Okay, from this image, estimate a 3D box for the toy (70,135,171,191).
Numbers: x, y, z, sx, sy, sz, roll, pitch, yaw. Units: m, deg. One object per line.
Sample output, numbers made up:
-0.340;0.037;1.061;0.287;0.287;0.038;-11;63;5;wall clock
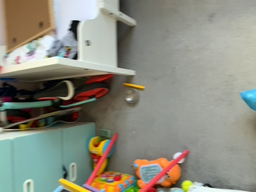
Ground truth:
-0.040;0.570;1.270;0.450;0.400;0.540;3;92;32;toy
